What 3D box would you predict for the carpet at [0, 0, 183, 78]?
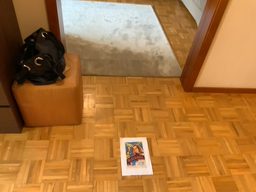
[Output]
[{"bbox_3d":[-0.930,-0.910,2.760,2.910,0.040,1.920,2,44,-7],"label":"carpet"}]
